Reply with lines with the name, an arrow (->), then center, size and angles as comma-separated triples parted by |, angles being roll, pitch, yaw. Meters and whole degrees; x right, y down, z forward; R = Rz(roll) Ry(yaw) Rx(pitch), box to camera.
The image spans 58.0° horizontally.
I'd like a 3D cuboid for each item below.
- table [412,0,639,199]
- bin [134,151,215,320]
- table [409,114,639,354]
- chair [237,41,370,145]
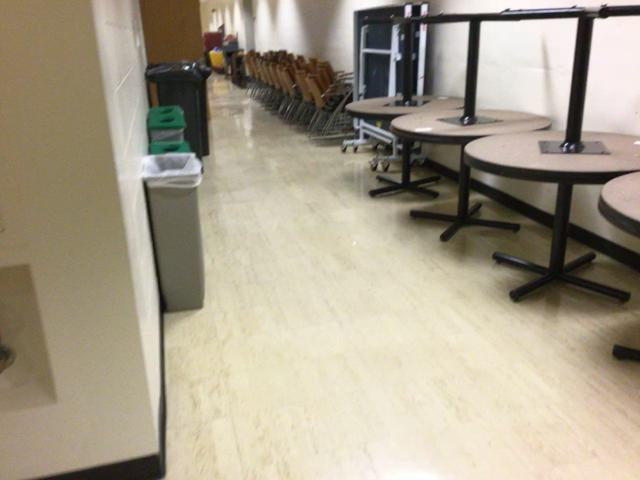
table -> 1.140, -0.770, 2.760 | 0.990, 0.760, 1.100 | -11, 19, -12
bin -> -0.770, -0.050, 3.090 | 0.330, 0.760, 0.550 | -4, 18, -14
table -> 1.230, -0.140, 3.020 | 1.110, 0.770, 1.160 | -11, 19, -12
chair -> -0.490, -2.320, 8.600 | 0.620, 0.960, 5.010 | -19, 21, -9
